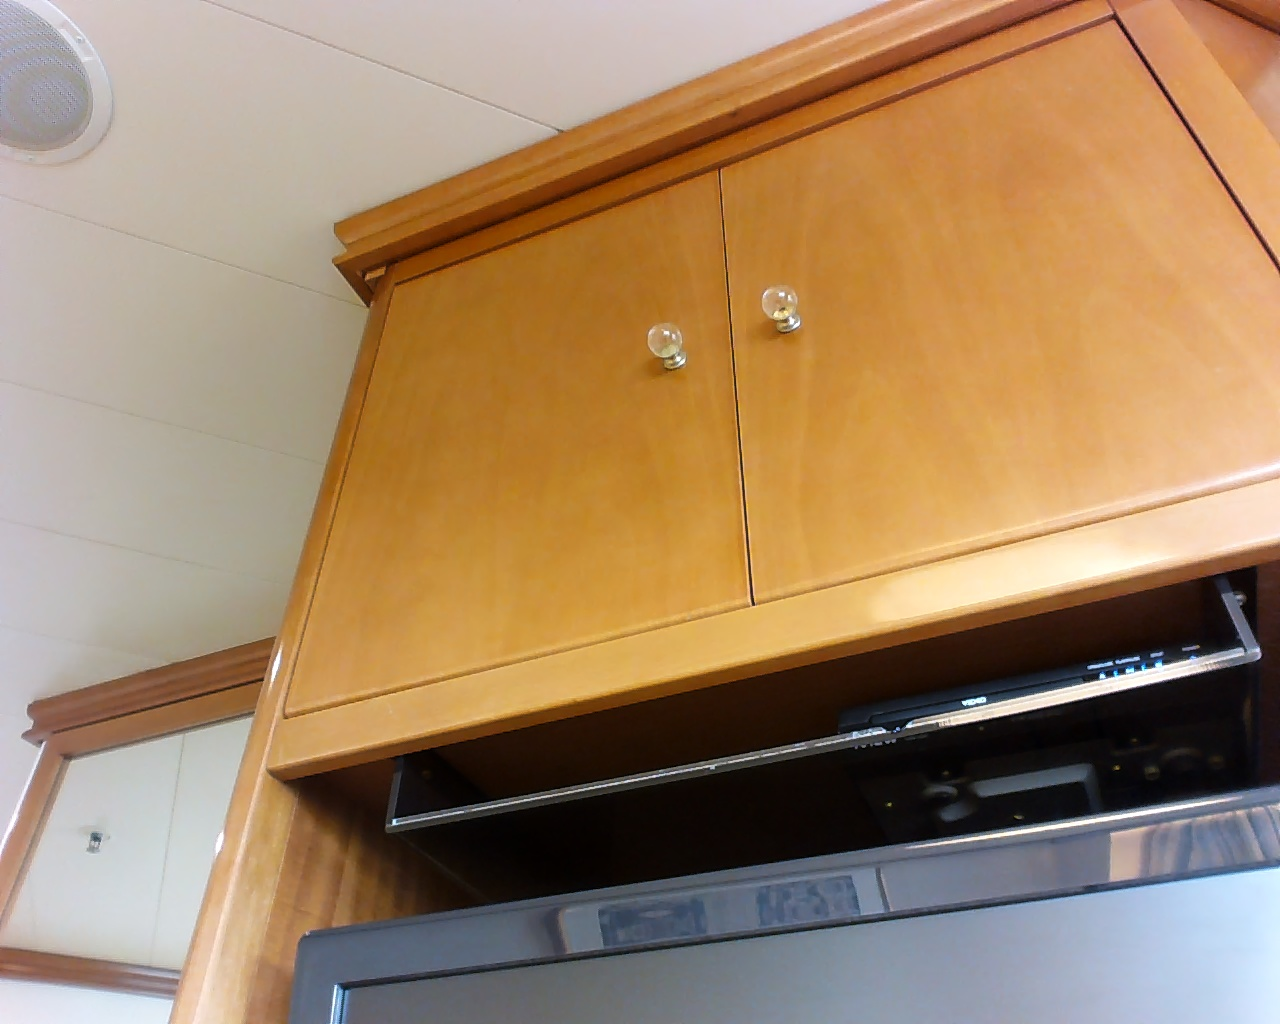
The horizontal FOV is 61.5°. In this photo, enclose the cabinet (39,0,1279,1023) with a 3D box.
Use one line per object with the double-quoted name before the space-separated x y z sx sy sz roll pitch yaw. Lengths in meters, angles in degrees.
"cabinet" 0.200 0.580 0.580 0.930 2.180 0.690 -15 -44 18
